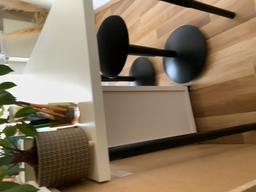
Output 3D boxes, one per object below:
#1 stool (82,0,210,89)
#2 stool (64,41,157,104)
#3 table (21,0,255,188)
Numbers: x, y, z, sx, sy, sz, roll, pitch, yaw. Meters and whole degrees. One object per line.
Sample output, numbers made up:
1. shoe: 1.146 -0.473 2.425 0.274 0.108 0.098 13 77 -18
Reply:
1. stool: 0.110 -0.290 1.370 0.430 0.670 0.430 -13 80 56
2. stool: -0.150 -0.160 1.800 0.410 0.650 0.400 -13 80 56
3. table: -0.140 0.000 1.520 1.530 0.930 0.780 -19 75 56
